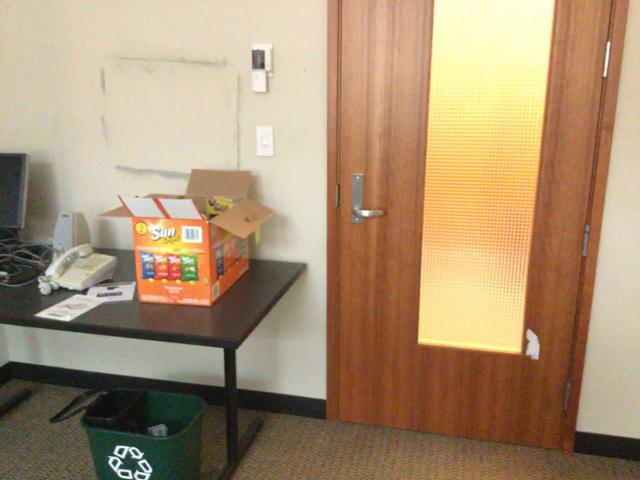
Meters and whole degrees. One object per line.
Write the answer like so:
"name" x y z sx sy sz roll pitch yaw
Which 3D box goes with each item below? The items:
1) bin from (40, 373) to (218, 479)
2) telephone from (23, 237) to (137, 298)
"bin" -0.640 0.730 2.000 0.490 0.380 0.290 5 14 11
"telephone" -0.850 0.090 2.080 0.250 0.120 0.300 5 14 11
